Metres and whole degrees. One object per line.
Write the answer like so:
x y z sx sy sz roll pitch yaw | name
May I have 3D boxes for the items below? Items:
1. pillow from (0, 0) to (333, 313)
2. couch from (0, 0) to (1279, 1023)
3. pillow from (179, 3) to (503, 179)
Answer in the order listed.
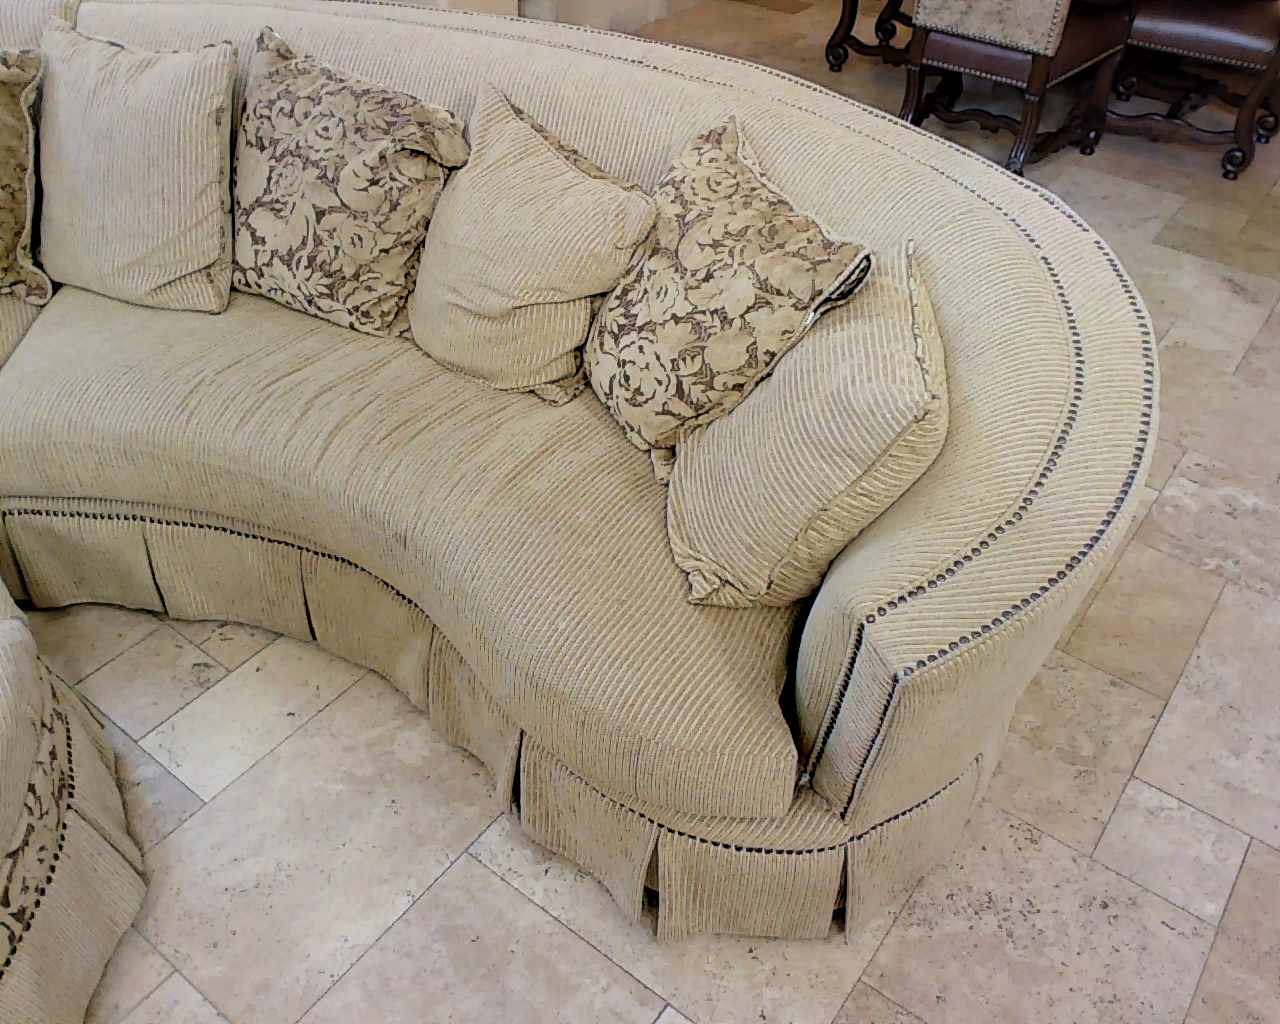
-0.990 -0.700 2.070 0.620 0.450 0.450 0 42 -1 | pillow
-1.221 -0.240 1.930 4.072 0.850 2.080 -1 42 -1 | couch
-0.550 -0.800 2.000 0.470 0.130 0.330 23 46 23 | pillow
